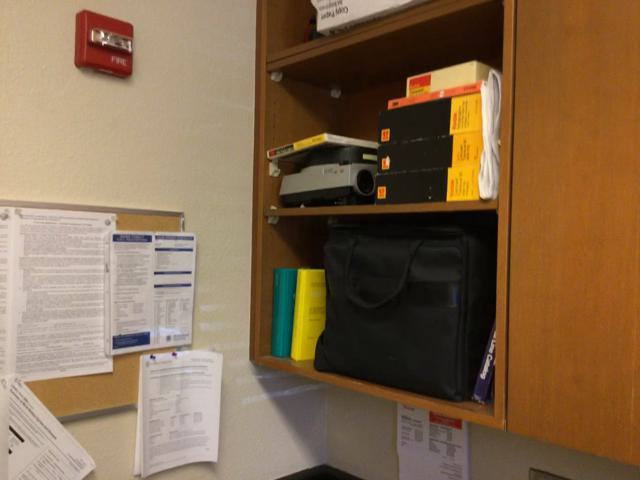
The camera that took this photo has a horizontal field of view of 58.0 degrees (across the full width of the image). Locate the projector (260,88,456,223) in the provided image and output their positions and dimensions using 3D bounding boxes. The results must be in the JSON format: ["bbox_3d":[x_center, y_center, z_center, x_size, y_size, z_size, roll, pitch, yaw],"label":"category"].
[{"bbox_3d":[0.090,-0.190,1.490,0.290,0.250,0.410,5,-5,-42],"label":"projector"}]

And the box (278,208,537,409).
[{"bbox_3d":[0.190,0.140,1.360,0.310,0.370,0.510,5,-5,-42],"label":"box"}]
